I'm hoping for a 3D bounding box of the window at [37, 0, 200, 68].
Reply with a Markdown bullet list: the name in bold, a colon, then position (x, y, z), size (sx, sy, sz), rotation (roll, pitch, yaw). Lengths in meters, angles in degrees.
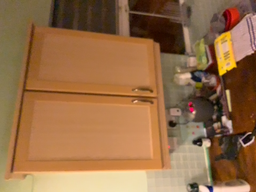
- **window**: position (-0.060, -0.820, 2.050), size (0.160, 1.400, 1.050), rotation (123, 147, -65)
